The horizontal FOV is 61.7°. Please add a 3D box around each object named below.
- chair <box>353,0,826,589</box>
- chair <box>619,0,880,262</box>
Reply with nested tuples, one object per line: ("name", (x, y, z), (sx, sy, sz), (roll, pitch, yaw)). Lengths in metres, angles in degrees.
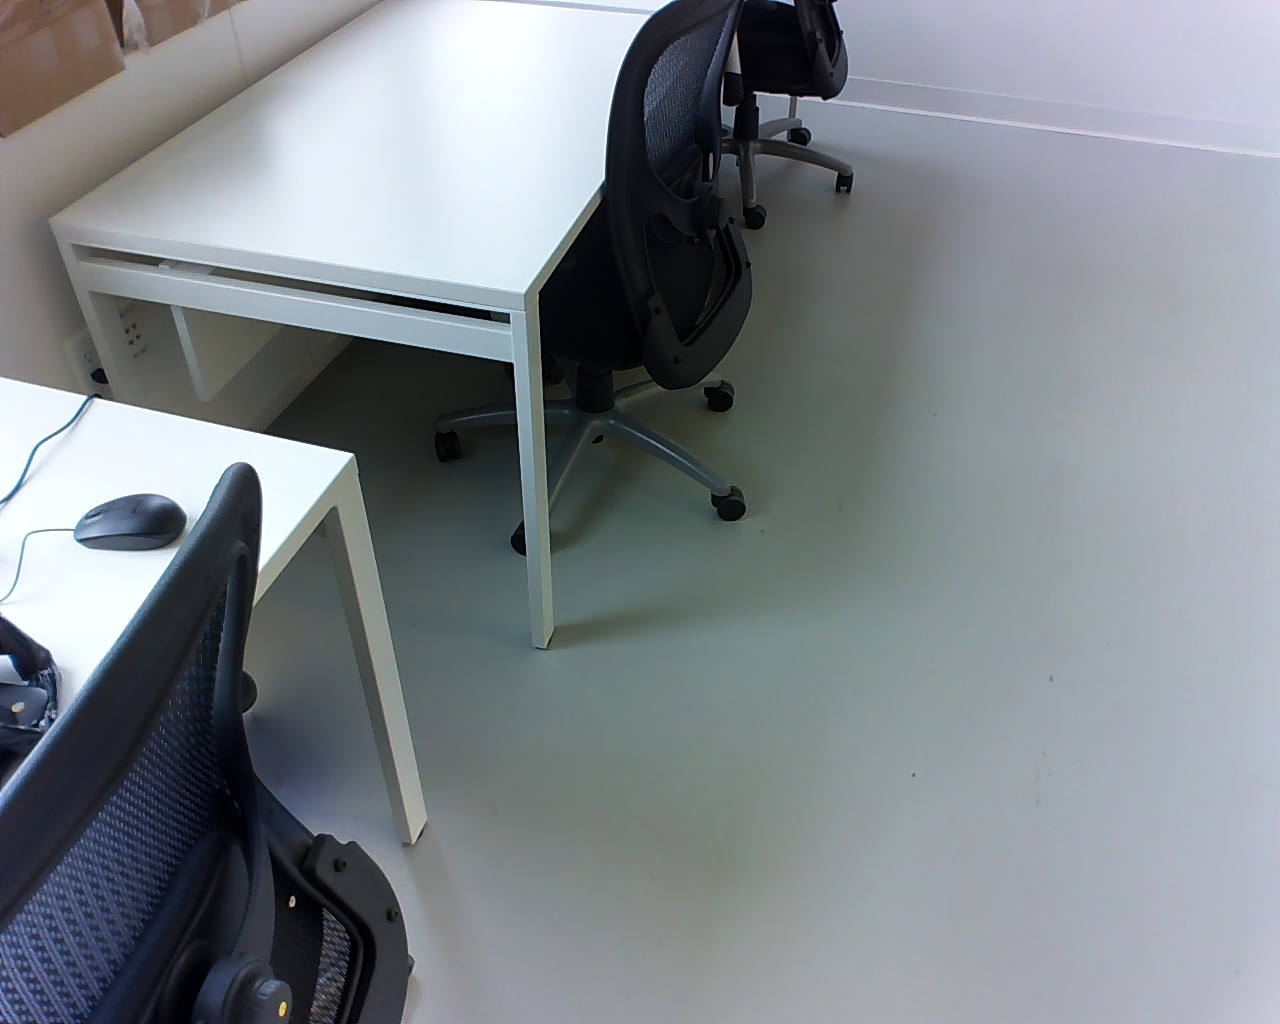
("chair", (-0.030, -0.510, 2.020), (0.570, 1.030, 0.690), (11, 43, 12))
("chair", (0.380, -1.500, 3.180), (0.610, 1.000, 1.140), (9, 43, 10))
